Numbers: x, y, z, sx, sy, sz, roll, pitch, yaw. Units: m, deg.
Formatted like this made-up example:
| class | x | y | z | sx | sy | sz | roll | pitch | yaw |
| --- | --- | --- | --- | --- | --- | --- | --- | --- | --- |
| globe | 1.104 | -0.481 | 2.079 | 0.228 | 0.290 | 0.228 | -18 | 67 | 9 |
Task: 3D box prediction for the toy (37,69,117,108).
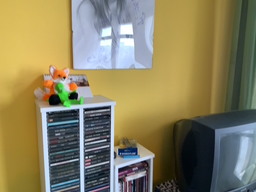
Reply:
| class | x | y | z | sx | sy | sz | roll | pitch | yaw |
| --- | --- | --- | --- | --- | --- | --- | --- | --- | --- |
| toy | -0.240 | -0.050 | 0.990 | 0.310 | 0.140 | 0.210 | -5 | 12 | -31 |
